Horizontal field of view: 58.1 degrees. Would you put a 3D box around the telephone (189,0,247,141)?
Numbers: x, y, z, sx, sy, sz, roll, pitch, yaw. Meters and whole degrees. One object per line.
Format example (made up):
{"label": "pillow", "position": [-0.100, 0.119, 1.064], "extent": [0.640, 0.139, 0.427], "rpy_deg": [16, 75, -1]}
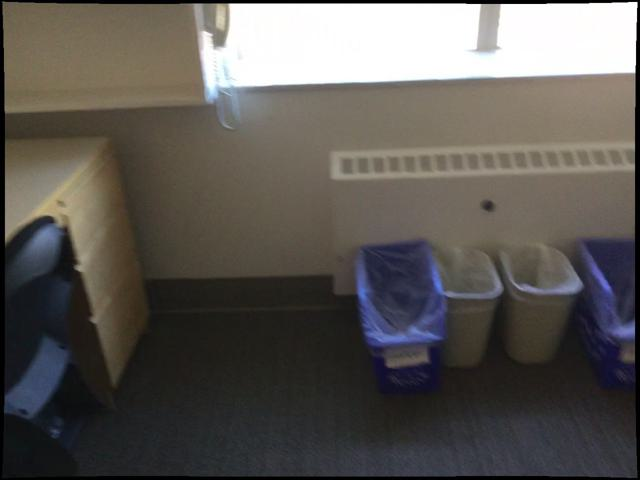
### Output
{"label": "telephone", "position": [-0.309, -0.551, 1.770], "extent": [0.100, 0.461, 0.140], "rpy_deg": [-3, 29, 1]}

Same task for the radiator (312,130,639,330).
{"label": "radiator", "position": [0.559, -0.020, 2.020], "extent": [1.137, 0.631, 0.170], "rpy_deg": [-3, 29, 1]}
